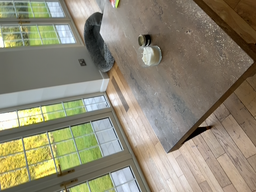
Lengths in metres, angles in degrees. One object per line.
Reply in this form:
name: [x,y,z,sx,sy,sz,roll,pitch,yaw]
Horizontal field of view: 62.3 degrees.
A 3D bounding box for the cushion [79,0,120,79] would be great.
cushion: [-0.460,-0.830,3.130,0.900,0.170,0.680,64,148,26]
